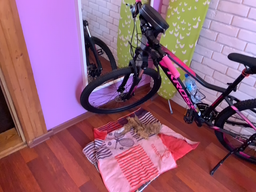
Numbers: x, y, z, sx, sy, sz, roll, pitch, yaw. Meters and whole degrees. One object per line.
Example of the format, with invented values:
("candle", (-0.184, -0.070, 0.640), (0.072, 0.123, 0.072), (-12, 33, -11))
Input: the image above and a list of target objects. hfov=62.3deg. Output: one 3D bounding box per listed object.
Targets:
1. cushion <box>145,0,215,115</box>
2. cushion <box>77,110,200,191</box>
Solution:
("cushion", (0.410, -0.460, 1.790), (0.180, 1.310, 0.370), (-28, 48, -35))
("cushion", (0.090, 0.430, 1.640), (0.750, 0.080, 0.570), (-24, 46, -32))
